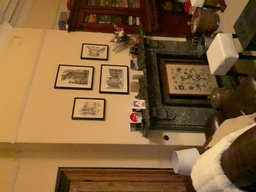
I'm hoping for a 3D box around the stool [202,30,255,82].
[{"bbox_3d":[1.220,-0.460,2.500,0.420,0.460,0.400,101,171,-56],"label":"stool"}]

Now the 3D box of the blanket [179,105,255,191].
[{"bbox_3d":[0.790,0.520,1.550,0.510,0.610,0.720,101,170,-59],"label":"blanket"}]
